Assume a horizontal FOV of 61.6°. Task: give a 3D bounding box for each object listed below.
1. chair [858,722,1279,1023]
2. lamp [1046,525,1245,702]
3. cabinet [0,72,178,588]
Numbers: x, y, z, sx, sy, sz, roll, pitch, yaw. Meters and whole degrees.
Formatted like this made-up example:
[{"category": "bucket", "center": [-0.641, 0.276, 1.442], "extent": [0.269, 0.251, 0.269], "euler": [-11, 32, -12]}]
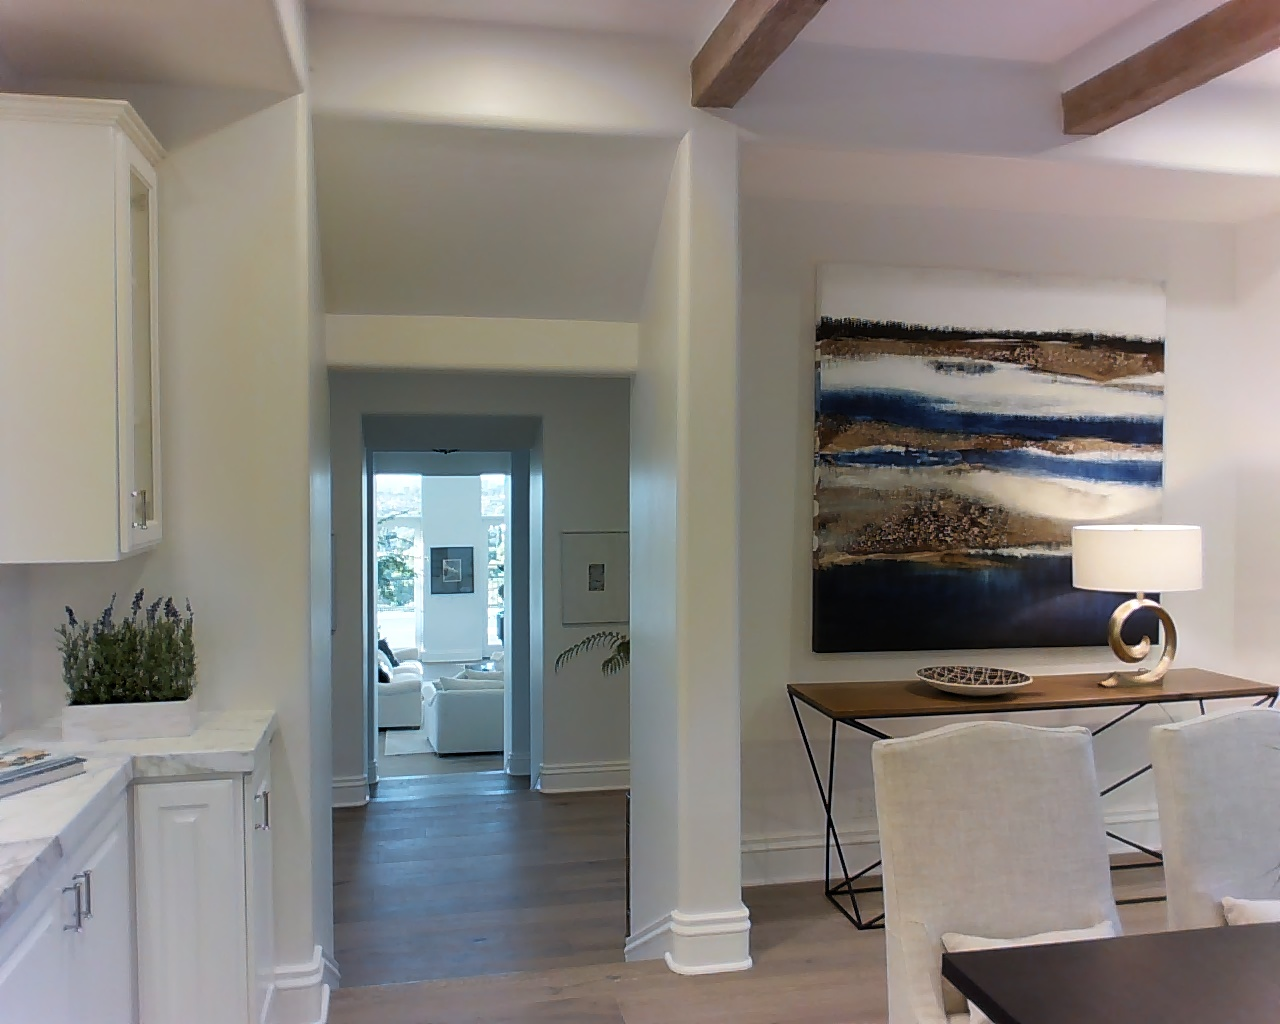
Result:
[{"category": "chair", "center": [0.850, 1.040, 2.100], "extent": [0.600, 1.090, 0.700], "euler": [0, 1, -12]}, {"category": "lamp", "center": [1.949, 0.370, 4.180], "extent": [0.460, 0.620, 0.540], "euler": [0, 1, -12]}, {"category": "cabinet", "center": [-1.420, -0.430, 2.760], "extent": [0.340, 1.210, 0.430], "euler": [0, 1, -12]}]
